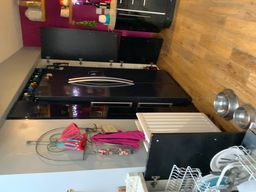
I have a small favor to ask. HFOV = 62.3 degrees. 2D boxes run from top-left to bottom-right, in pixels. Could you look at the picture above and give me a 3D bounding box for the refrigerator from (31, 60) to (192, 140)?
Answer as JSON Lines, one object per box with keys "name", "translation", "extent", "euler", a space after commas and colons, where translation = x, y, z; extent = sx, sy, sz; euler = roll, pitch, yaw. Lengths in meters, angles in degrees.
{"name": "refrigerator", "translation": [-0.230, 0.000, 2.880], "extent": [0.950, 1.790, 0.620], "euler": [-112, 25, -59]}
